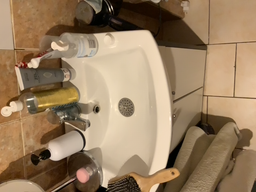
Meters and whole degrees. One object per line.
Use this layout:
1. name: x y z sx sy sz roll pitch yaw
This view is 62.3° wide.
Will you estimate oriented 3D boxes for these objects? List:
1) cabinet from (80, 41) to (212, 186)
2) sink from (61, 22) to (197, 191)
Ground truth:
1. cabinet: 0.150 -0.010 1.040 0.310 0.750 0.460 9 104 31
2. sink: -0.020 0.050 0.690 0.400 0.130 0.520 9 104 31
